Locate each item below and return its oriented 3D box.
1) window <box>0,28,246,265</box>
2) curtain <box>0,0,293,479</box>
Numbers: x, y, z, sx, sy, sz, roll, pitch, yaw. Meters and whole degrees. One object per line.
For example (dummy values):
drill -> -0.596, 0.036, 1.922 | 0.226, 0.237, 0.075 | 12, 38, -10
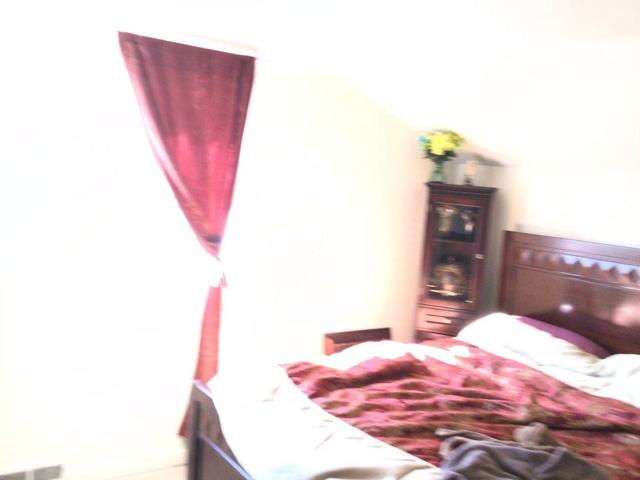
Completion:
window -> -1.140, -0.390, 2.640 | 1.570, 0.950, 0.310 | 0, 8, -36
curtain -> -1.200, 0.080, 2.530 | 2.180, 2.190, 0.320 | 0, 8, -36
